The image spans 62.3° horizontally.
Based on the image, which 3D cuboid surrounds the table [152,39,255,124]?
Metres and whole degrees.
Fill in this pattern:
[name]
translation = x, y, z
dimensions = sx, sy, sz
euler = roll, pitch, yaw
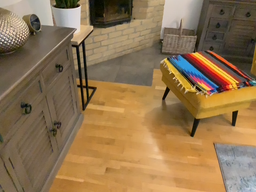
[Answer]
[table]
translation = 0.690, -0.190, 2.110
dimensions = 0.630, 0.470, 0.720
euler = -8, 37, -15
